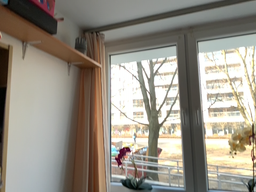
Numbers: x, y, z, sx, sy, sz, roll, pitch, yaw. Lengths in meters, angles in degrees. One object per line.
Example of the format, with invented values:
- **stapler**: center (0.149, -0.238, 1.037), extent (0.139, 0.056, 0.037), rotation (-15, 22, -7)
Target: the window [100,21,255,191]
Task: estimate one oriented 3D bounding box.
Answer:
- **window**: center (0.910, 0.100, 1.900), extent (2.440, 1.440, 0.250), rotation (-4, -9, 18)
